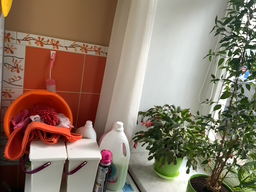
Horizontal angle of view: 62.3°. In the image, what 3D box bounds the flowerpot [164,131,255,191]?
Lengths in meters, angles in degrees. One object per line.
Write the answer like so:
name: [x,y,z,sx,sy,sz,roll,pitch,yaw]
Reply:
flowerpot: [0.540,0.490,0.910,0.450,0.420,0.630,3,17,-26]
